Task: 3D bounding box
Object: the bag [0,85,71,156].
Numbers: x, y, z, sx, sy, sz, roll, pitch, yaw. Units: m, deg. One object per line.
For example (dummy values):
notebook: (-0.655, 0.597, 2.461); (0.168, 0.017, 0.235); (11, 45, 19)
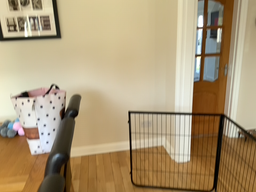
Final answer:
bag: (-0.580, 0.140, 1.420); (0.300, 0.330, 0.380); (-3, 17, -5)
